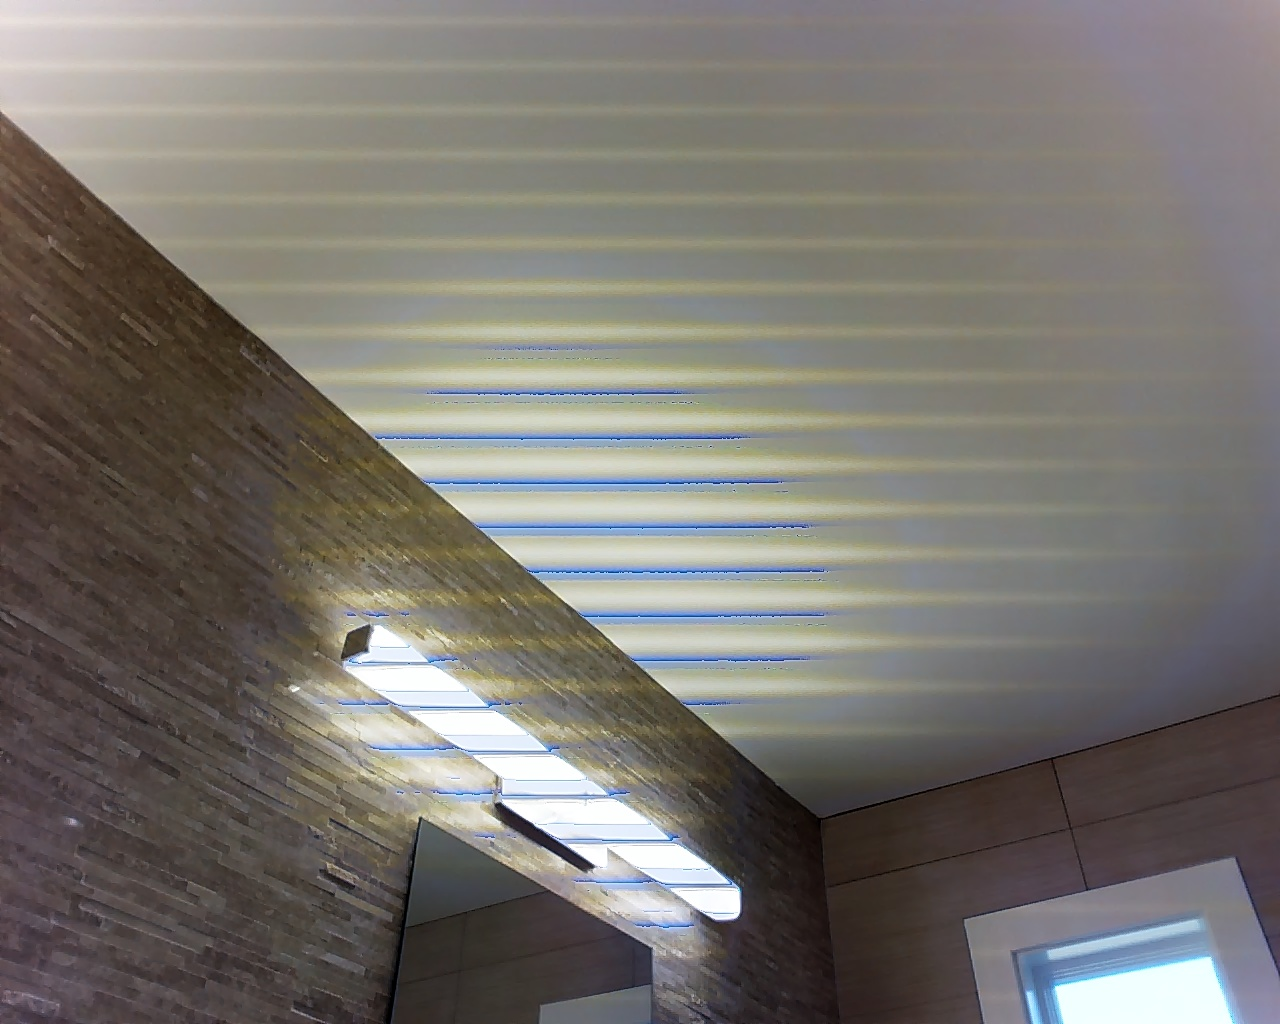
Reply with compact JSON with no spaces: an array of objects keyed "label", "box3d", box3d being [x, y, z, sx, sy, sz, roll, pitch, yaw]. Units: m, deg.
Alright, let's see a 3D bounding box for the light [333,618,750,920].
[{"label":"light","box3d":[-0.100,0.460,1.750,0.080,0.070,1.000,-23,-46,24]}]
